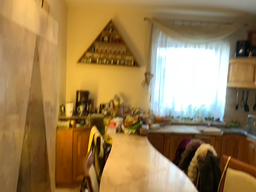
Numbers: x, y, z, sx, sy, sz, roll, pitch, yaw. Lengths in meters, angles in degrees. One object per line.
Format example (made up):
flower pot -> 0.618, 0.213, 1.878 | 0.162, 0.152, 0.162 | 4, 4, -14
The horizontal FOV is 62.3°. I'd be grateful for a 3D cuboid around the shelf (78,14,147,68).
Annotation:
shelf -> -0.240, -0.840, 3.310 | 1.040, 0.730, 0.100 | 2, 6, -6
